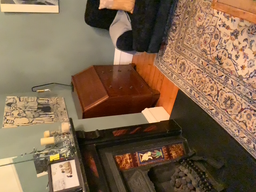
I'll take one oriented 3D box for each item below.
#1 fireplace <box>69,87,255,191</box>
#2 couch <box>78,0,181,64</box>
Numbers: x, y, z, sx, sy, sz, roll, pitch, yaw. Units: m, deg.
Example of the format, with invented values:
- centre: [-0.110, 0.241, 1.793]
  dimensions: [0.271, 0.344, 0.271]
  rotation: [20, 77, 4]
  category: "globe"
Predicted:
- centre: [0.230, 0.670, 1.760]
  dimensions: [1.480, 1.180, 0.800]
  rotation: [-124, 37, -50]
  category: "fireplace"
- centre: [0.010, -1.480, 2.280]
  dimensions: [1.060, 0.840, 1.980]
  rotation: [-125, 37, -50]
  category: "couch"
